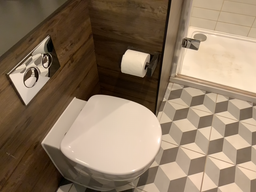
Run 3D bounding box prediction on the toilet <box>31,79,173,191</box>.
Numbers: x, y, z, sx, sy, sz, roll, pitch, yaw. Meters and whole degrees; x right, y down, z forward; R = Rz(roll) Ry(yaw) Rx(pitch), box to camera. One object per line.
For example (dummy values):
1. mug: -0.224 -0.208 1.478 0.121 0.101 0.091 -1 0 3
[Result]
1. toilet: -0.090 0.260 1.080 0.490 0.450 0.390 16 51 14
